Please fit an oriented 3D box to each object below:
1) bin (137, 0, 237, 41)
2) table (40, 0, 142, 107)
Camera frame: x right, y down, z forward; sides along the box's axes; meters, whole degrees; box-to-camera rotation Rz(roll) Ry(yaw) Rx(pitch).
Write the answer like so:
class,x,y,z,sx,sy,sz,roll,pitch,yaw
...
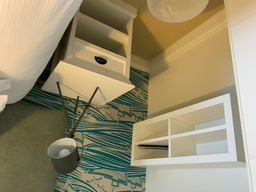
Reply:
class,x,y,z,sx,sy,sz,roll,pitch,yaw
bin,0.290,-0.580,1.130,0.330,0.330,0.360,16,155,-28
table,-0.250,-0.320,1.460,0.460,0.610,0.500,16,155,-29
